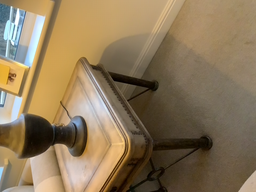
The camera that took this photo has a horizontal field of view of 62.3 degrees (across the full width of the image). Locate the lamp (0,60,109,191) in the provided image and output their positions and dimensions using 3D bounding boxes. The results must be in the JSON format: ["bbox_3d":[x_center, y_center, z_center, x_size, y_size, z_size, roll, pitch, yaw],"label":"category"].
[{"bbox_3d":[-0.580,0.190,0.870,0.490,0.730,0.510,54,125,42],"label":"lamp"}]
